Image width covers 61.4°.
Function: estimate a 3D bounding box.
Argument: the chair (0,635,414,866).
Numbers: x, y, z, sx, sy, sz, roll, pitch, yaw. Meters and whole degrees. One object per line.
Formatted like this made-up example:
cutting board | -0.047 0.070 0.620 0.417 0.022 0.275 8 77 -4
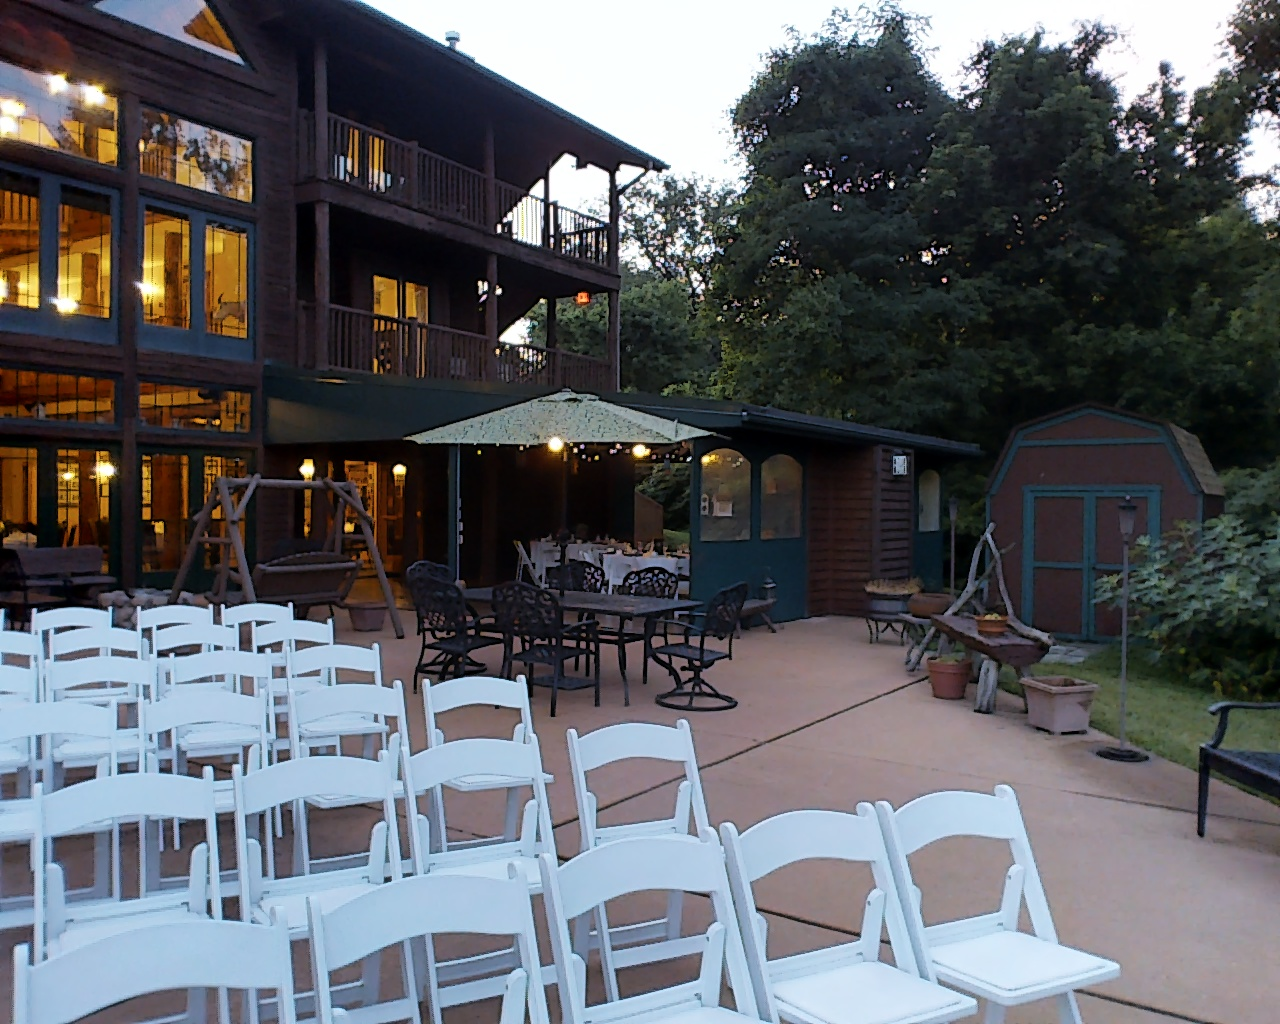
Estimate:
chair | -2.299 1.010 4.680 2.510 0.750 0.590 0 1 -30
